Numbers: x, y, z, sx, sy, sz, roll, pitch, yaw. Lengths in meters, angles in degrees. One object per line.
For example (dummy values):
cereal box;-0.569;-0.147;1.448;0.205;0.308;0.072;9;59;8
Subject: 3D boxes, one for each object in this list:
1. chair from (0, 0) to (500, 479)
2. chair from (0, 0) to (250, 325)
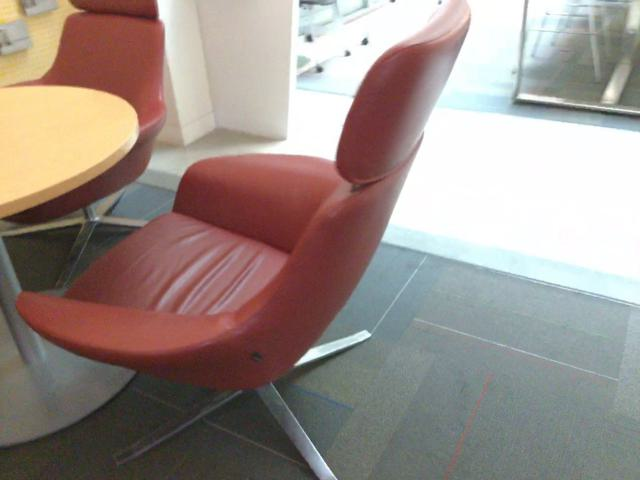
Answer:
chair;-0.160;0.010;1.360;0.900;1.040;0.890;10;36;21
chair;-0.930;-0.460;2.140;0.890;1.040;0.900;10;36;21
